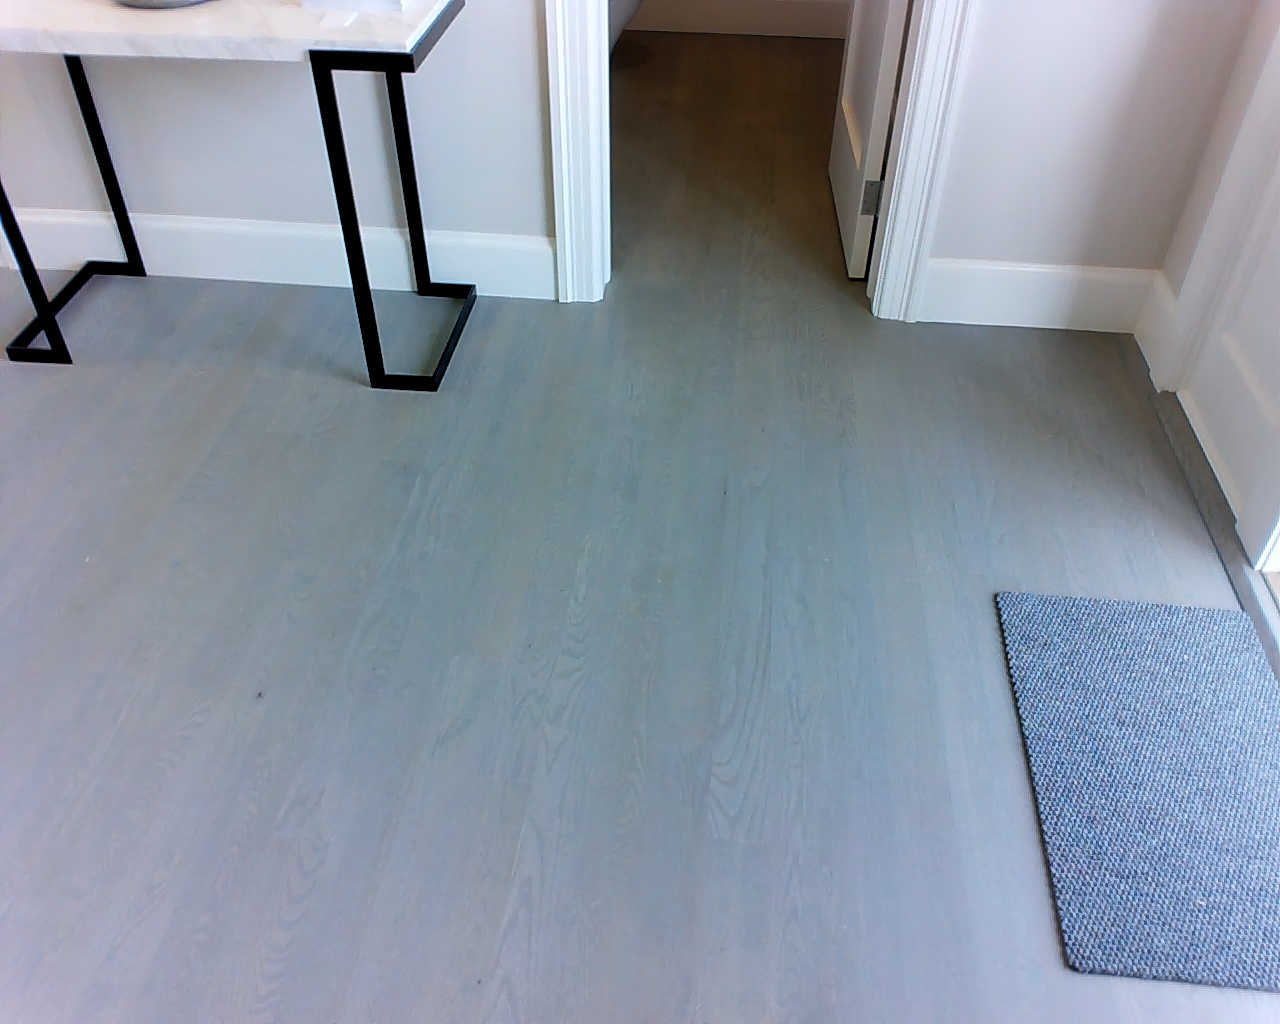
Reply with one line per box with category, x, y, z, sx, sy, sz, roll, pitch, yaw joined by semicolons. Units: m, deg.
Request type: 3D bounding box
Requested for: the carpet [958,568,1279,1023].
carpet;0.900;0.450;1.900;0.570;0.020;0.930;5;41;5
